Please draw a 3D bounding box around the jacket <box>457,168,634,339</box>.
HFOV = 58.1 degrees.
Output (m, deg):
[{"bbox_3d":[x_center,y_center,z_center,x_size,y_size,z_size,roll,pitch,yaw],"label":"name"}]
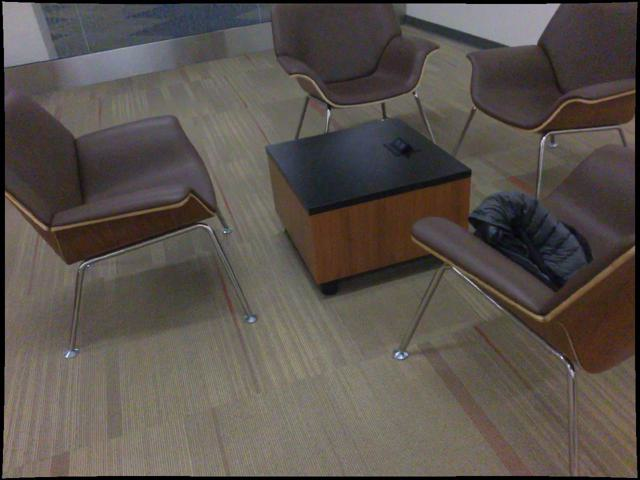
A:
[{"bbox_3d":[0.559,0.020,1.490,0.250,0.250,0.330,-17,34,-15],"label":"jacket"}]
